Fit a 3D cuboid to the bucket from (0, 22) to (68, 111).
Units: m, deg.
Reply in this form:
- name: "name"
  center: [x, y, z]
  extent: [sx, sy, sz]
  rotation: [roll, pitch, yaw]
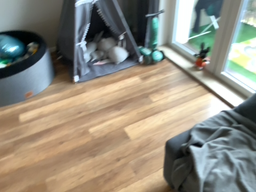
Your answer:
- name: "bucket"
  center: [-1.340, -0.340, 2.360]
  extent: [1.020, 0.450, 0.910]
  rotation: [-20, 44, -19]
